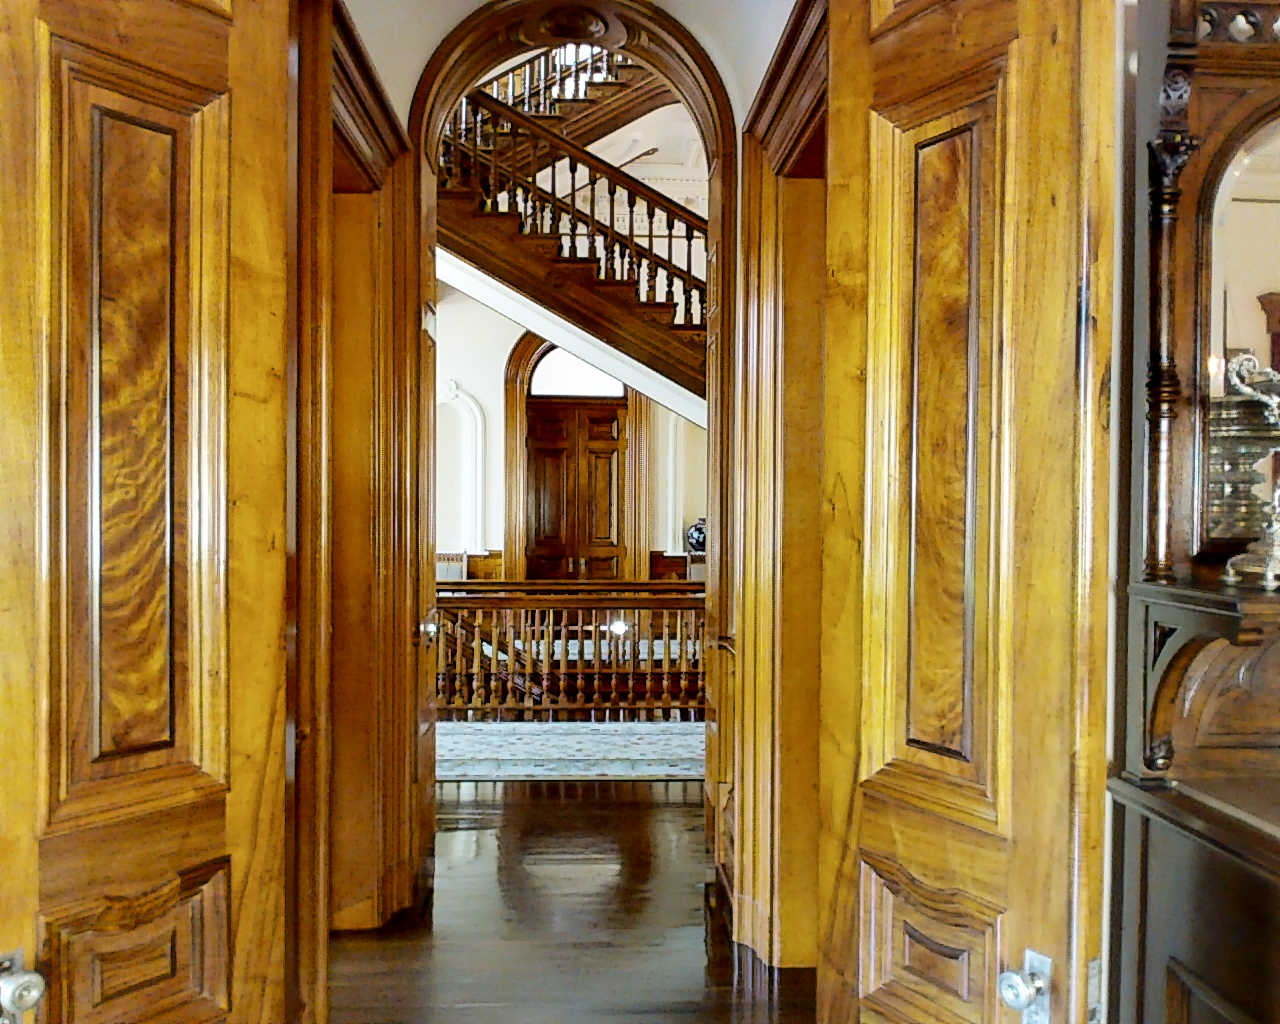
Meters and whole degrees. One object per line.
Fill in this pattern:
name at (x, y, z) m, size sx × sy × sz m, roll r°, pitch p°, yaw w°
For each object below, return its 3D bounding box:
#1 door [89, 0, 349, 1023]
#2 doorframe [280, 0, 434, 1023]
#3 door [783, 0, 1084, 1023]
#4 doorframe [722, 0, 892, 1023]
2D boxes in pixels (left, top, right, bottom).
door at (-0.780, 0.080, 2.010) m, size 0.240 × 2.860 × 0.350 m, roll 1°, pitch 1°, yaw 34°
doorframe at (-0.890, -0.010, 3.580) m, size 0.150 × 2.970 × 1.530 m, roll 1°, pitch 0°, yaw -3°
door at (0.490, 0.080, 1.920) m, size 0.150 × 2.870 × 0.590 m, roll 1°, pitch 1°, yaw -22°
doorframe at (0.460, -0.070, 3.300) m, size 0.160 × 3.130 × 1.420 m, roll 1°, pitch 0°, yaw -4°
